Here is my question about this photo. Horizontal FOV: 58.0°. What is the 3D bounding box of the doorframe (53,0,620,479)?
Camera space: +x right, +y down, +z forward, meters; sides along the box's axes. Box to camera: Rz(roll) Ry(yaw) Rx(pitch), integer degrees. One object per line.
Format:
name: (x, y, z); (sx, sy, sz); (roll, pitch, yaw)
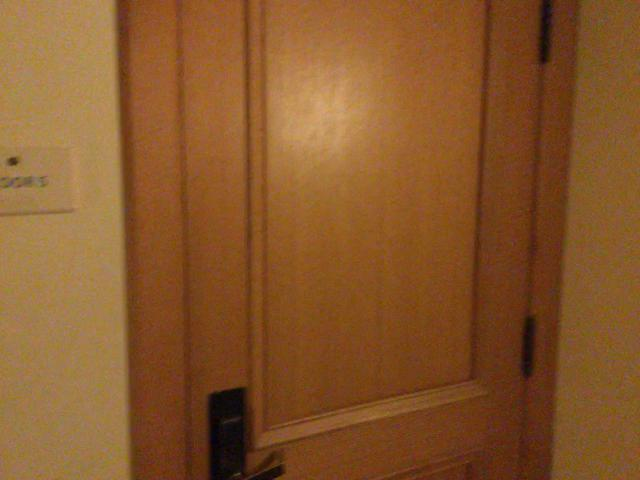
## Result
doorframe: (0.120, 0.310, 1.280); (1.280, 2.160, 0.070); (2, 5, -29)

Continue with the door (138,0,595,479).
door: (0.140, 0.310, 1.290); (1.030, 2.140, 0.080); (2, 5, -29)
